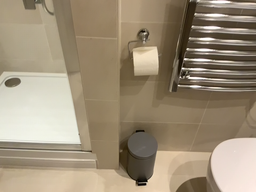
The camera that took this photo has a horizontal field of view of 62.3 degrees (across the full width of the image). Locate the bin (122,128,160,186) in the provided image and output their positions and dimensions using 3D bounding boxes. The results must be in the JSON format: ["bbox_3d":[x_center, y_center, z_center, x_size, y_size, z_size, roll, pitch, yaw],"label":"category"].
[{"bbox_3d":[0.070,0.360,1.250,0.190,0.260,0.210,4,42,1],"label":"bin"}]
